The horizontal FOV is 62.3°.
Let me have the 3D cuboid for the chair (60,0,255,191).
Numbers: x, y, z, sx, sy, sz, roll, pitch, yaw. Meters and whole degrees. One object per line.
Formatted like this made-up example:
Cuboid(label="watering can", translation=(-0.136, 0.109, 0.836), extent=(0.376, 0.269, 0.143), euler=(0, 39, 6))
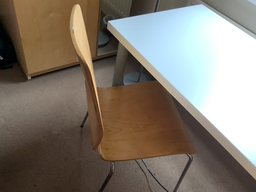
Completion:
Cuboid(label="chair", translation=(0.000, 0.090, 0.940), extent=(0.510, 0.830, 0.420), euler=(-4, 48, -16))
